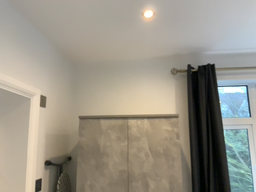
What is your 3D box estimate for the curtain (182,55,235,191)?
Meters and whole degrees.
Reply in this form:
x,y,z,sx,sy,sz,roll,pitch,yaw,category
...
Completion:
x,y,z,sx,sy,sz,roll,pitch,yaw,category
0.720,0.740,1.840,0.310,2.210,0.210,-3,-11,7,curtain
